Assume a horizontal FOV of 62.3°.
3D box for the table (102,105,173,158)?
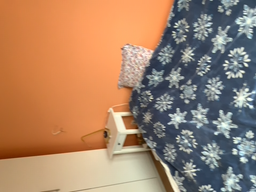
[{"bbox_3d":[0.090,0.420,2.590,0.390,0.670,0.470,-113,32,-44],"label":"table"}]
